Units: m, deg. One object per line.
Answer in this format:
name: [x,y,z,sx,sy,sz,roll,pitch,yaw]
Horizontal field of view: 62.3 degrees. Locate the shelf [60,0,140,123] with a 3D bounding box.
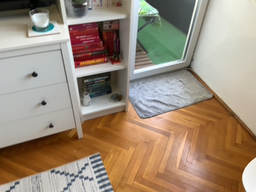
shelf: [-0.200,-0.380,1.460,0.400,1.190,0.350,-13,46,-18]
